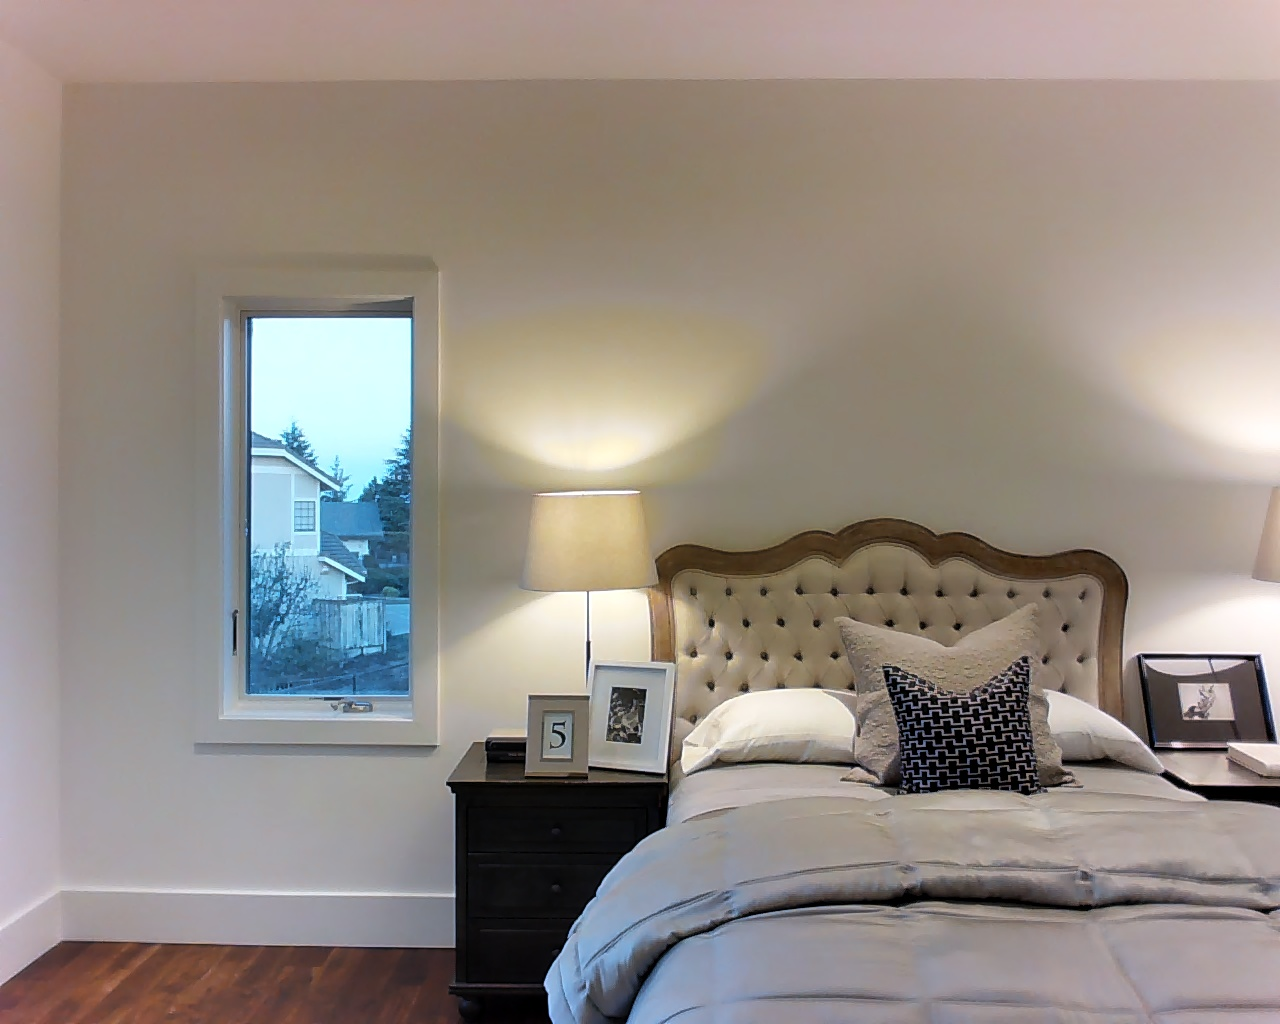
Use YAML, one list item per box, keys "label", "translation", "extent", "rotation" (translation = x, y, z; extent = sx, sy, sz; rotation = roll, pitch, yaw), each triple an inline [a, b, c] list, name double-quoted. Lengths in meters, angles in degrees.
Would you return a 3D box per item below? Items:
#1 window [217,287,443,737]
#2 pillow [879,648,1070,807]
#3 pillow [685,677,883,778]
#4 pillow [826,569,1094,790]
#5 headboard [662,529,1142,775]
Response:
- label: "window"
  translation: [-1.110, 0.000, 3.880]
  extent: [0.760, 1.580, 0.200]
  rotation: [0, 0, 1]
- label: "pillow"
  translation: [0.890, 0.570, 2.900]
  extent: [0.430, 0.360, 0.310]
  rotation: [0, 0, 3]
- label: "pillow"
  translation: [0.440, 0.680, 3.440]
  extent: [0.580, 0.230, 0.460]
  rotation: [0, 0, 1]
- label: "pillow"
  translation: [0.920, 0.500, 3.210]
  extent: [0.640, 0.570, 0.330]
  rotation: [0, -30, 2]
- label: "headboard"
  translation: [0.880, 0.470, 3.690]
  extent: [1.610, 0.820, 0.150]
  rotation: [0, 0, 1]
